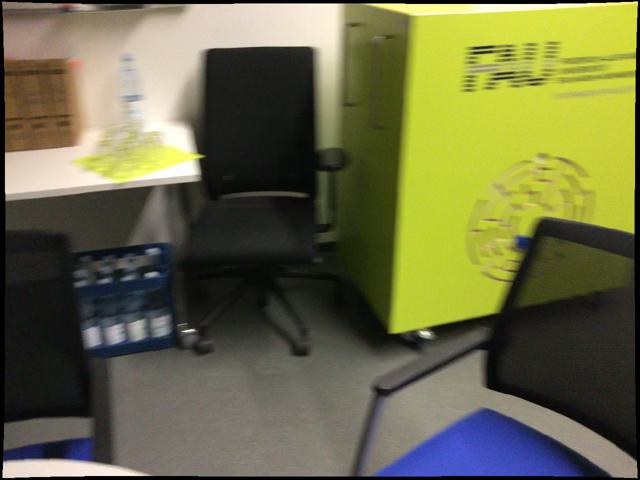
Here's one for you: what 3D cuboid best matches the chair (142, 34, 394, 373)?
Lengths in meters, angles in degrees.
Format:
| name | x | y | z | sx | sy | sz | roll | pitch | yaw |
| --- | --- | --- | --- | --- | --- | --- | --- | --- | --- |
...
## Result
| name | x | y | z | sx | sy | sz | roll | pitch | yaw |
| --- | --- | --- | --- | --- | --- | --- | --- | --- | --- |
| chair | -0.230 | -0.200 | 2.290 | 0.749 | 1.011 | 0.830 | -8 | 29 | -12 |

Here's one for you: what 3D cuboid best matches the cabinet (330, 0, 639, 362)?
| name | x | y | z | sx | sy | sz | roll | pitch | yaw |
| --- | --- | --- | --- | --- | --- | --- | --- | --- | --- |
| cabinet | 0.669 | -0.310 | 2.280 | 1.109 | 1.211 | 0.700 | -8 | 29 | -12 |
